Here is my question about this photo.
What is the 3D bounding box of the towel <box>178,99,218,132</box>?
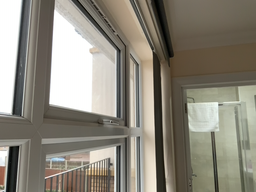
[{"bbox_3d":[1.110,0.320,3.390,0.560,0.490,0.170,-3,-10,15],"label":"towel"}]
